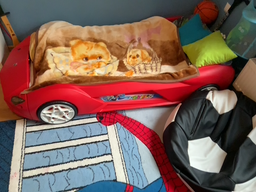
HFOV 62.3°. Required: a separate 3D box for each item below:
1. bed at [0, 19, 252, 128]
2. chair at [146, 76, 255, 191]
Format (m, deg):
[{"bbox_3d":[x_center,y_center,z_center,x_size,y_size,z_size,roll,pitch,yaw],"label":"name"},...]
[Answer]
[{"bbox_3d":[-0.060,-0.320,1.970,2.090,0.290,0.940,-6,52,-15],"label":"bed"},{"bbox_3d":[0.650,0.320,1.530,0.760,0.330,0.890,-6,52,-15],"label":"chair"}]
